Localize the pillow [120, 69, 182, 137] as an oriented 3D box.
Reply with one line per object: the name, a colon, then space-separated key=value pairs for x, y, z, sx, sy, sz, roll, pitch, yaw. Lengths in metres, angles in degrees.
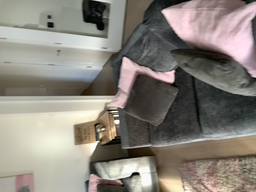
pillow: x=0.180 y=0.070 z=1.830 sx=0.210 sy=0.340 sz=0.500 roll=43 pitch=141 yaw=16

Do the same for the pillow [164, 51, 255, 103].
pillow: x=0.460 y=-0.130 z=1.140 sx=0.410 sy=0.320 sz=0.130 roll=23 pitch=124 yaw=46
